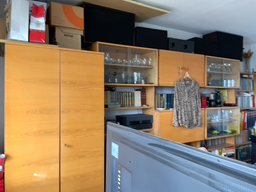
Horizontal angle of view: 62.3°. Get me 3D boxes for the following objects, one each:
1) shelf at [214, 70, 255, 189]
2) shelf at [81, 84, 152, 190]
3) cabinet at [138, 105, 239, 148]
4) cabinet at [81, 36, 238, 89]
[{"bbox_3d":[1.990,0.570,3.930,0.780,2.010,0.320,0,0,-32],"label":"shelf"},{"bbox_3d":[-0.130,0.440,2.610,0.820,1.130,0.330,0,0,-32],"label":"shelf"},{"bbox_3d":[0.980,0.400,3.220,1.690,0.480,0.460,0,0,-32],"label":"cabinet"},{"bbox_3d":[0.620,-0.370,3.010,2.510,0.490,0.440,0,0,-32],"label":"cabinet"}]
